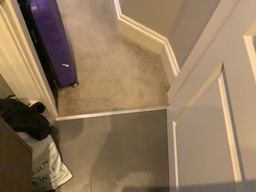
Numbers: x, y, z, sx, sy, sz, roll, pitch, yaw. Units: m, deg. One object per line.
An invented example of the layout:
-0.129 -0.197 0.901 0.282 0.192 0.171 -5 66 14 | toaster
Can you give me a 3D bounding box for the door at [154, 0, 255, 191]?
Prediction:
0.360 -0.080 0.440 0.080 2.140 0.840 9 61 -4 | door
